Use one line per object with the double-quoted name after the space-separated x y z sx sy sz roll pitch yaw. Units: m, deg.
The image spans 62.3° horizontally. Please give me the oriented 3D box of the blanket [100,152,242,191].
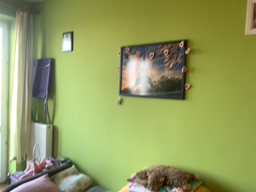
0.300 0.870 1.690 0.980 0.530 0.490 4 3 37 "blanket"
